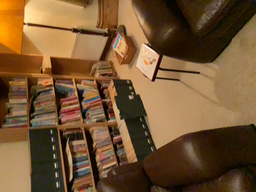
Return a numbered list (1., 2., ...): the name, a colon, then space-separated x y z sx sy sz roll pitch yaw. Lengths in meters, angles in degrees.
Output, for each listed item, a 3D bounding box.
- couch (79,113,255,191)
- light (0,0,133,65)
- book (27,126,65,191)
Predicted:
1. couch: 0.360 0.890 1.440 1.110 0.960 1.170 -45 52 51
2. light: -0.910 -0.900 2.940 0.650 1.770 0.540 -57 45 44
3. book: -0.910 0.750 2.300 0.300 0.290 0.770 -56 44 44
